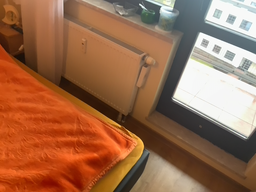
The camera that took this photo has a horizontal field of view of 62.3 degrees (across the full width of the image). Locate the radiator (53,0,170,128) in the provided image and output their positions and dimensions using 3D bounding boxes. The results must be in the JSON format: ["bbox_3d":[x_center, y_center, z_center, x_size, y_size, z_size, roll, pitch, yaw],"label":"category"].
[{"bbox_3d":[-0.220,-0.270,1.790,0.950,0.770,0.160,28,39,19],"label":"radiator"}]
